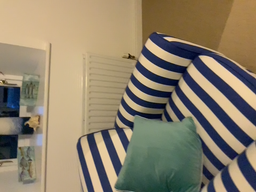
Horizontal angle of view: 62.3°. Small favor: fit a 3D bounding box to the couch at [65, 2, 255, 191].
[{"bbox_3d":[0.290,0.240,1.140,0.920,0.840,0.920,-62,41,30],"label":"couch"}]
